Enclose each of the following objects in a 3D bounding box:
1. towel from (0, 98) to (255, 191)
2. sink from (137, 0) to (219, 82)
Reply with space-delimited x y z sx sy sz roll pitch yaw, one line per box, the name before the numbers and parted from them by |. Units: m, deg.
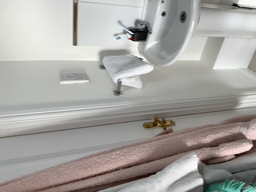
towel | 0.130 0.210 0.650 0.420 1.430 0.130 -125 37 -52
sink | 0.260 -0.430 1.210 0.390 0.190 0.580 -123 36 -51
